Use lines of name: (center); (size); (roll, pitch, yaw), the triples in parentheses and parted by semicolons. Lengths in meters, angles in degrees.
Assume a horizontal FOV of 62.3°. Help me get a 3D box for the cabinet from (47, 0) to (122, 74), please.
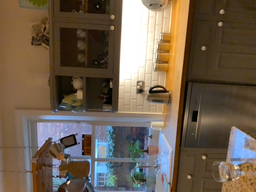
cabinet: (-0.400, -0.870, 2.090); (0.340, 0.670, 1.240); (-108, 21, -77)
